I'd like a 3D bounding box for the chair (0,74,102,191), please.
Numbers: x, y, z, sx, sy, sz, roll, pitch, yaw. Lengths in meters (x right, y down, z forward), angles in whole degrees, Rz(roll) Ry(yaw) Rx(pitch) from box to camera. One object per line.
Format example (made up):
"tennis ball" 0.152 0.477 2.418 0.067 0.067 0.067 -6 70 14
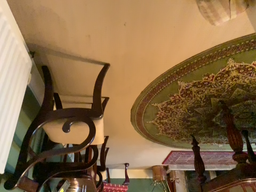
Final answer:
"chair" -0.520 0.330 1.640 0.580 0.850 0.520 1 149 -3

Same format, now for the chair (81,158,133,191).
"chair" -0.410 1.780 3.950 0.720 0.970 0.750 15 145 -24
